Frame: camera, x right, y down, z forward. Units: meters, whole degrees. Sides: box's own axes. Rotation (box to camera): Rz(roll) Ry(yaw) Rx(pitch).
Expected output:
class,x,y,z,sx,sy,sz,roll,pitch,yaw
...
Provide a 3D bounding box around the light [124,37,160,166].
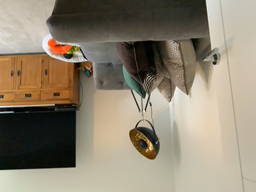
class,x,y,z,sx,sy,sz,roll,pitch,yaw
light,0.200,0.080,3.530,0.410,1.980,0.540,0,170,-9

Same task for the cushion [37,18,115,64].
class,x,y,z,sx,sy,sz,roll,pitch,yaw
cushion,-0.680,-0.670,2.790,0.810,0.200,0.630,5,168,-37

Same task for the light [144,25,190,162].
class,x,y,z,sx,sy,sz,roll,pitch,yaw
light,0.500,-0.040,2.950,0.460,1.780,0.460,-2,170,2

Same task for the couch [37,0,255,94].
class,x,y,z,sx,sy,sz,roll,pitch,yaw
couch,0.100,-0.540,1.930,1.120,0.730,1.670,-2,170,0
